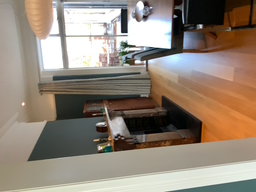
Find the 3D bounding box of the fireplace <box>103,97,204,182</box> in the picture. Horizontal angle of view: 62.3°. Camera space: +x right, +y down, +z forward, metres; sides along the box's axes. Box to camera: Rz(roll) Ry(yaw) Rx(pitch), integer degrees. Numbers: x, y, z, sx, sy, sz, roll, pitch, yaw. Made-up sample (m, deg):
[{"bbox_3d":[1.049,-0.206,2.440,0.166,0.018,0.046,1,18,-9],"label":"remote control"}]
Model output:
[{"bbox_3d":[0.290,0.610,3.840,1.710,1.310,0.750,-131,39,-73],"label":"fireplace"}]
